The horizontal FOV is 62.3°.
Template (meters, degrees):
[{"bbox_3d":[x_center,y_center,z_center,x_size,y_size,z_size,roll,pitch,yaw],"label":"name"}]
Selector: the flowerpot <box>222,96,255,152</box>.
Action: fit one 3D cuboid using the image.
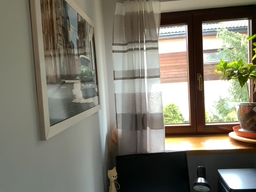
[{"bbox_3d":[1.030,0.210,1.760,0.350,0.380,0.340,-3,5,4],"label":"flowerpot"}]
